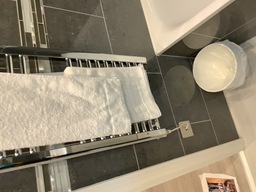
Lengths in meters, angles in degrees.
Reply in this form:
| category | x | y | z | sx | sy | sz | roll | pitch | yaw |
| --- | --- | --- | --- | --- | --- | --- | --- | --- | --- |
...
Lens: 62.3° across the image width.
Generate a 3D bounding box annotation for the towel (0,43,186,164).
| category | x | y | z | sx | sy | sz | roll | pitch | yaw |
| --- | --- | --- | --- | --- | --- | --- | --- | --- | --- |
| towel | -0.140 | 0.010 | 0.790 | 0.130 | 0.790 | 0.330 | -33 | 66 | 50 |
